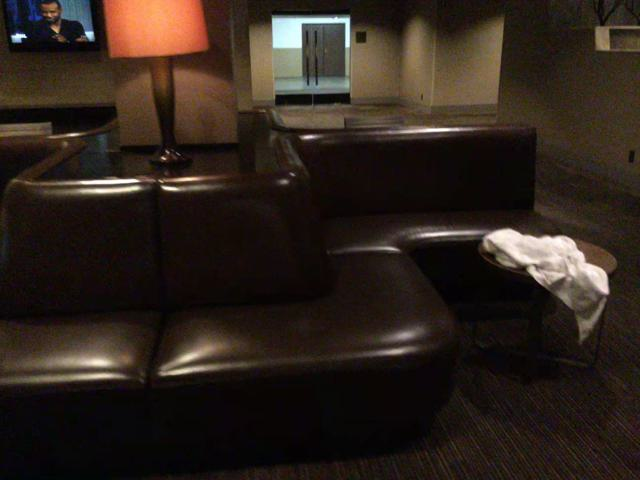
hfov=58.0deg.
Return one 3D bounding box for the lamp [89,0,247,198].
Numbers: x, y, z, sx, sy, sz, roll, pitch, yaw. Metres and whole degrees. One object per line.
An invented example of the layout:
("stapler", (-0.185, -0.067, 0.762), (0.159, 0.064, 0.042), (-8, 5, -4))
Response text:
("lamp", (-0.610, -0.650, 2.340), (0.440, 0.820, 0.350), (-15, 27, -23))
